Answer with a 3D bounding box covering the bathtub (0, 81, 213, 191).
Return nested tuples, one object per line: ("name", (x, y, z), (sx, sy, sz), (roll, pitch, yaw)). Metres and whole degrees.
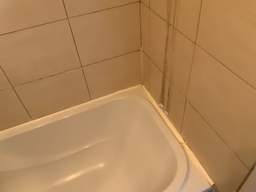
("bathtub", (-0.410, 0.540, 1.110), (1.380, 0.570, 0.680), (-19, 46, -14))
